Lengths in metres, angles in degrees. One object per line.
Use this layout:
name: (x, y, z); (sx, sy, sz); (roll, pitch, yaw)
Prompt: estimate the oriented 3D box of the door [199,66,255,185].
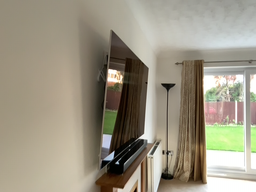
door: (2.390, 0.540, 4.040); (1.950, 2.230, 0.090); (0, -2, 15)
